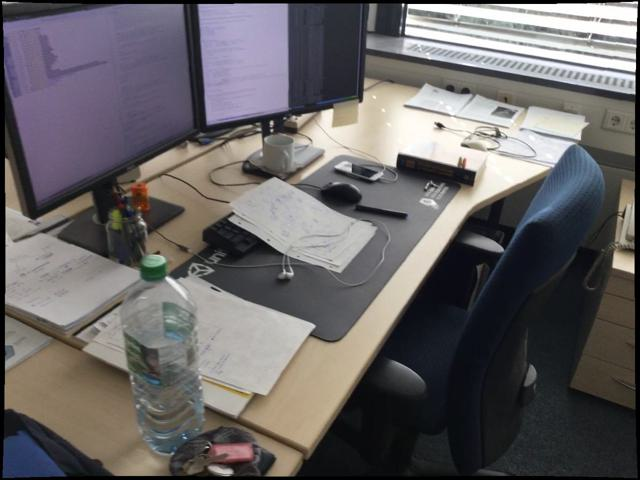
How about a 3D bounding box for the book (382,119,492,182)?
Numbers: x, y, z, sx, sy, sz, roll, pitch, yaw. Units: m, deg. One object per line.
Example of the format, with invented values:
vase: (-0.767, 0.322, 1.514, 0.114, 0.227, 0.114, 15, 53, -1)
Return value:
book: (0.360, -0.280, 1.770, 0.280, 0.070, 0.190, 18, 35, 21)
